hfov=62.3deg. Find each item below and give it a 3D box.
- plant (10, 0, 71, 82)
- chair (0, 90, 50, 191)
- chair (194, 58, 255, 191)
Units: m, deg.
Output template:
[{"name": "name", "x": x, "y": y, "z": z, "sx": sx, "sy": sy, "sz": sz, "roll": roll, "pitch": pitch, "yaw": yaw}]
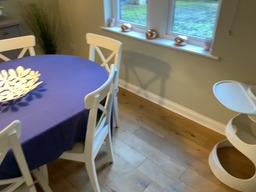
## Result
[{"name": "plant", "x": -1.180, "y": -0.820, "z": 2.990, "sx": 0.240, "sy": 1.110, "sz": 0.530, "roll": 24, "pitch": 41, "yaw": 32}, {"name": "chair", "x": -0.780, "y": 0.440, "z": 1.200, "sx": 0.420, "sy": 0.870, "sz": 0.470, "roll": -28, "pitch": 42, "yaw": -35}, {"name": "chair", "x": 0.930, "y": 0.220, "z": 1.590, "sx": 0.550, "sy": 0.840, "sz": 0.560, "roll": -3, "pitch": 33, "yaw": -4}]
